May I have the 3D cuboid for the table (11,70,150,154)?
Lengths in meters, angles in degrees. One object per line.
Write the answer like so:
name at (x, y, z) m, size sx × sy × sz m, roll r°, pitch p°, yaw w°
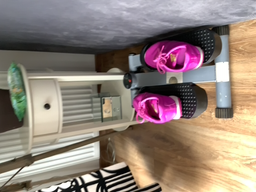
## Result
table at (-0.230, 0.040, 1.110) m, size 0.310 × 0.620 × 0.320 m, roll 1°, pitch 95°, yaw 55°
